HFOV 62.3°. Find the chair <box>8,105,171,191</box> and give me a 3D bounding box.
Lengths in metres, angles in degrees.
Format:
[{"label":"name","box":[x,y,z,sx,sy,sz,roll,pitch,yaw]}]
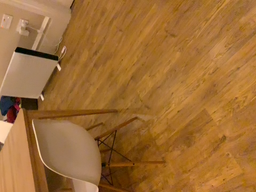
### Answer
[{"label":"chair","box":[-0.230,0.400,1.330,0.510,0.780,0.410,-51,52,30]}]
